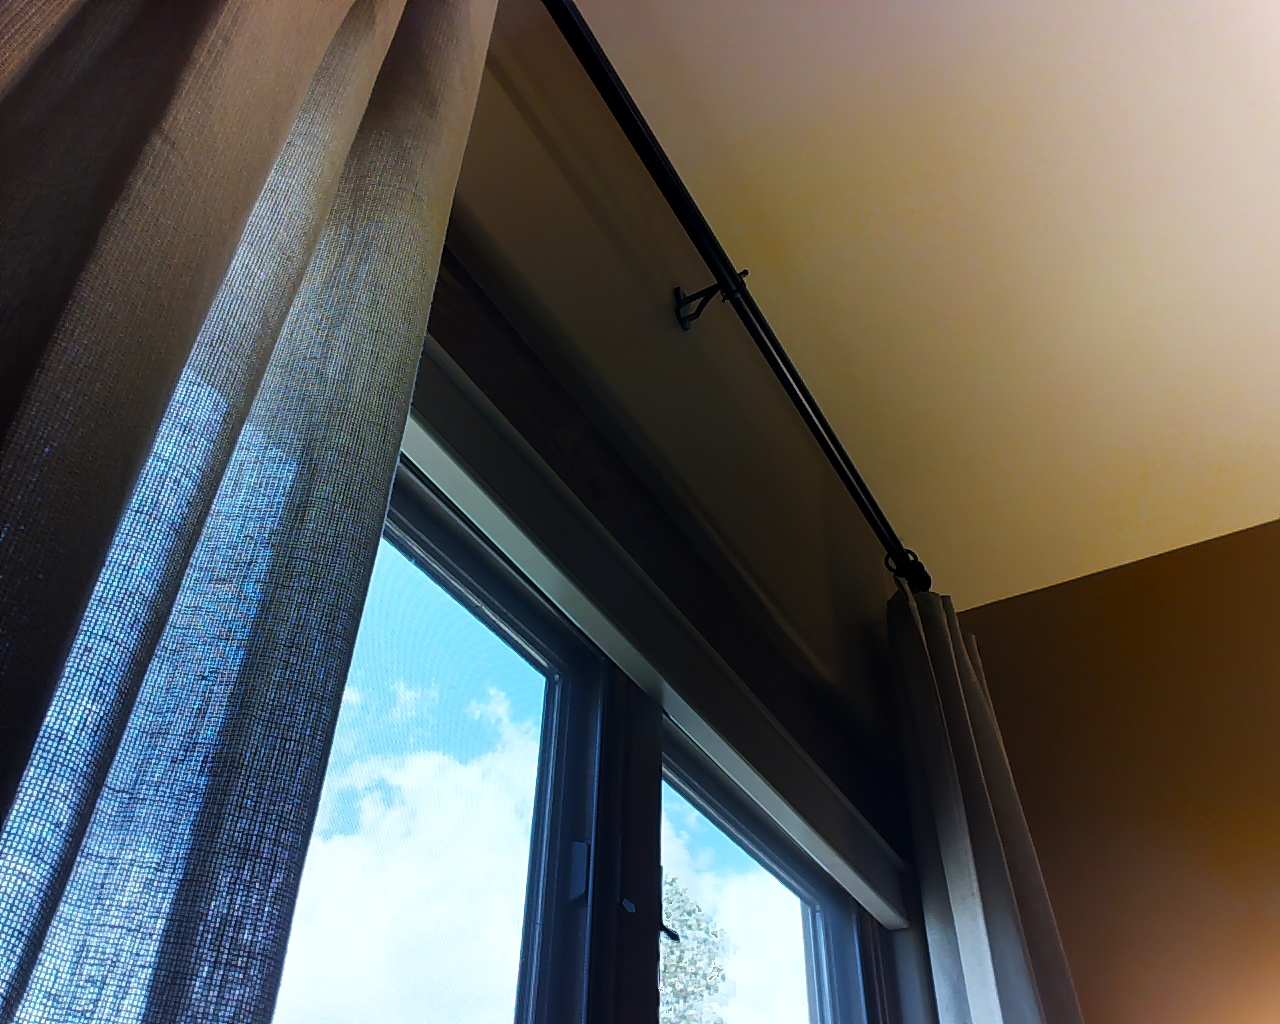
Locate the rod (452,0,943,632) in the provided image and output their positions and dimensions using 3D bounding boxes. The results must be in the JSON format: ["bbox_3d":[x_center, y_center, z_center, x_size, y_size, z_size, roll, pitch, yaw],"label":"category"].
[{"bbox_3d":[0.050,-0.410,1.540,0.110,0.140,1.980,-20,-46,23],"label":"rod"}]
